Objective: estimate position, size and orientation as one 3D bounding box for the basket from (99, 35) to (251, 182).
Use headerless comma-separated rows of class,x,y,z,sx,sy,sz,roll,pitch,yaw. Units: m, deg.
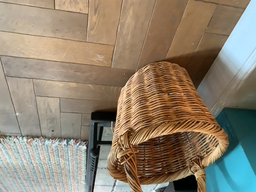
basket,0.100,0.060,0.760,0.350,0.360,0.340,7,137,-14
